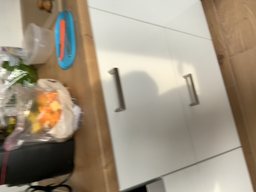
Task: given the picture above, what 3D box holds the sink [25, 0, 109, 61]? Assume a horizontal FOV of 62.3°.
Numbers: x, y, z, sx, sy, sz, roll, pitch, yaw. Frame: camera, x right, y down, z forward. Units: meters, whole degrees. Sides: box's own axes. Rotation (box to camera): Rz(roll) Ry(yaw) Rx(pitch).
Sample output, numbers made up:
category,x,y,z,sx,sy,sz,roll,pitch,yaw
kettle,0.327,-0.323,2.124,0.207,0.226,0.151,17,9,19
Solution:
category,x,y,z,sx,sy,sz,roll,pitch,yaw
sink,-0.320,-0.440,1.010,0.450,0.190,0.380,-24,73,49
